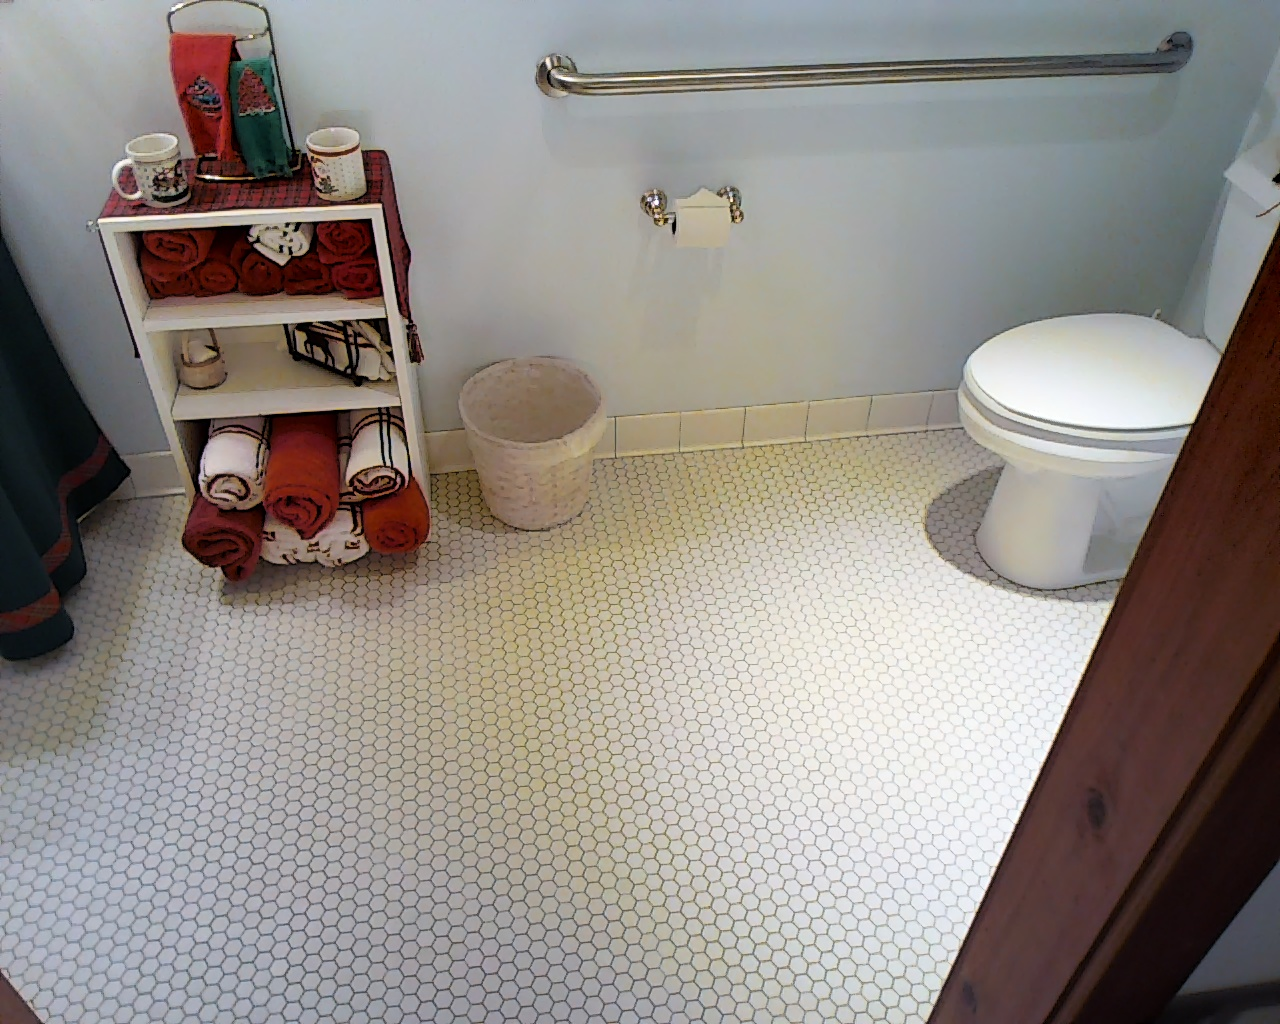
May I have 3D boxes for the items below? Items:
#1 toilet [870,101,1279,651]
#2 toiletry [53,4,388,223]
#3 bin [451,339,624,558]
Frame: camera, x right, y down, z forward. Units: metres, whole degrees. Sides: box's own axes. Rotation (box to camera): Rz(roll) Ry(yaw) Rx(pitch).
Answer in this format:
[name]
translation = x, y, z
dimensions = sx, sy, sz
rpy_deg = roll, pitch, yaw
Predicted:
[toilet]
translation = 0.910, -0.250, 2.040
dimensions = 0.680, 0.820, 0.540
rpy_deg = -6, 42, -7
[toiletry]
translation = -0.670, -0.670, 1.800
dimensions = 0.450, 0.250, 0.250
rpy_deg = -6, 42, -7
[bin]
translation = -0.220, -0.140, 2.310
dimensions = 0.320, 0.300, 0.330
rpy_deg = -6, 42, -8
